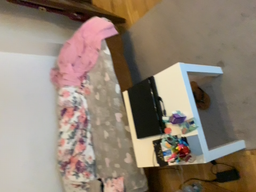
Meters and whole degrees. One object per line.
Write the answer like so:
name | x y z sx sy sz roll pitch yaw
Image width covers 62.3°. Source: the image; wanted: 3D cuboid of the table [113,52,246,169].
table | 0.320 0.130 1.510 0.630 0.470 0.610 -28 71 48
